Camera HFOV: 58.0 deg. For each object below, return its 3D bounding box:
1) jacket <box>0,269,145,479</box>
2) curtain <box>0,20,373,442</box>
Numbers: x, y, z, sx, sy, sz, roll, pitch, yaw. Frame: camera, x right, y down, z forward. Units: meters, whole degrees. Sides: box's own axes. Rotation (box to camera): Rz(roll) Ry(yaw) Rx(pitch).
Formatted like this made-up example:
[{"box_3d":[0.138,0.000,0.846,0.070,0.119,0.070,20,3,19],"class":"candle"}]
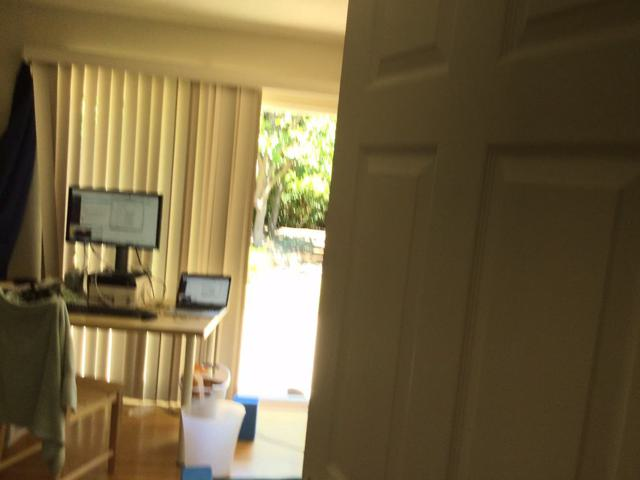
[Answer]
[{"box_3d":[-1.250,0.660,2.660,0.550,0.940,0.560,8,3,11],"class":"jacket"},{"box_3d":[-0.860,-0.010,3.570,2.060,2.250,0.310,7,3,-5],"class":"curtain"}]
